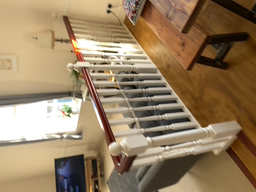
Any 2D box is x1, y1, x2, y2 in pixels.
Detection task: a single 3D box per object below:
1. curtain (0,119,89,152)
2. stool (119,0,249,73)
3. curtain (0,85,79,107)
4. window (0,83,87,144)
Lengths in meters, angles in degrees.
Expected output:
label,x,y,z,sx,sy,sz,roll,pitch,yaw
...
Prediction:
label,x,y,z,sx,sy,sz,roll,pitch,yaw
curtain,-2.260,0.860,4.330,0.180,2.850,0.570,61,142,40
stool,0.380,-0.770,2.030,1.490,0.470,0.260,61,142,40
curtain,-2.050,0.010,3.540,0.150,2.410,0.320,62,143,39
window,-2.300,0.380,4.320,0.310,2.680,1.400,61,142,40
